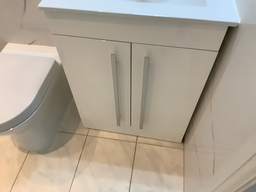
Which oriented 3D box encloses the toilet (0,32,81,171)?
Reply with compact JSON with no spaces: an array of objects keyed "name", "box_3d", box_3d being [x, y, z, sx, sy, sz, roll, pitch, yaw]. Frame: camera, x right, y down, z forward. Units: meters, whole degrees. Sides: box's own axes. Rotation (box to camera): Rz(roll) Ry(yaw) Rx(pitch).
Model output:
[{"name":"toilet","box_3d":[-0.550,0.030,1.150,0.370,0.460,0.550,6,52,5]}]
